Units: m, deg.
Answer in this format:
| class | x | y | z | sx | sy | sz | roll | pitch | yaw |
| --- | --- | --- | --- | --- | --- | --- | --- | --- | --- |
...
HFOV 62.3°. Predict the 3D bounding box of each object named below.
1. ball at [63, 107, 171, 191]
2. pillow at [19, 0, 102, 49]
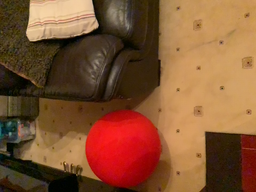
| class | x | y | z | sx | sy | sz | roll | pitch | yaw |
| --- | --- | --- | --- | --- | --- | --- | --- | --- | --- |
| ball | -0.060 | 0.330 | 1.250 | 0.400 | 0.470 | 0.510 | 3 | -96 | -54 |
| pillow | -0.340 | -0.560 | 1.080 | 0.100 | 0.370 | 0.600 | 56 | -151 | -77 |
